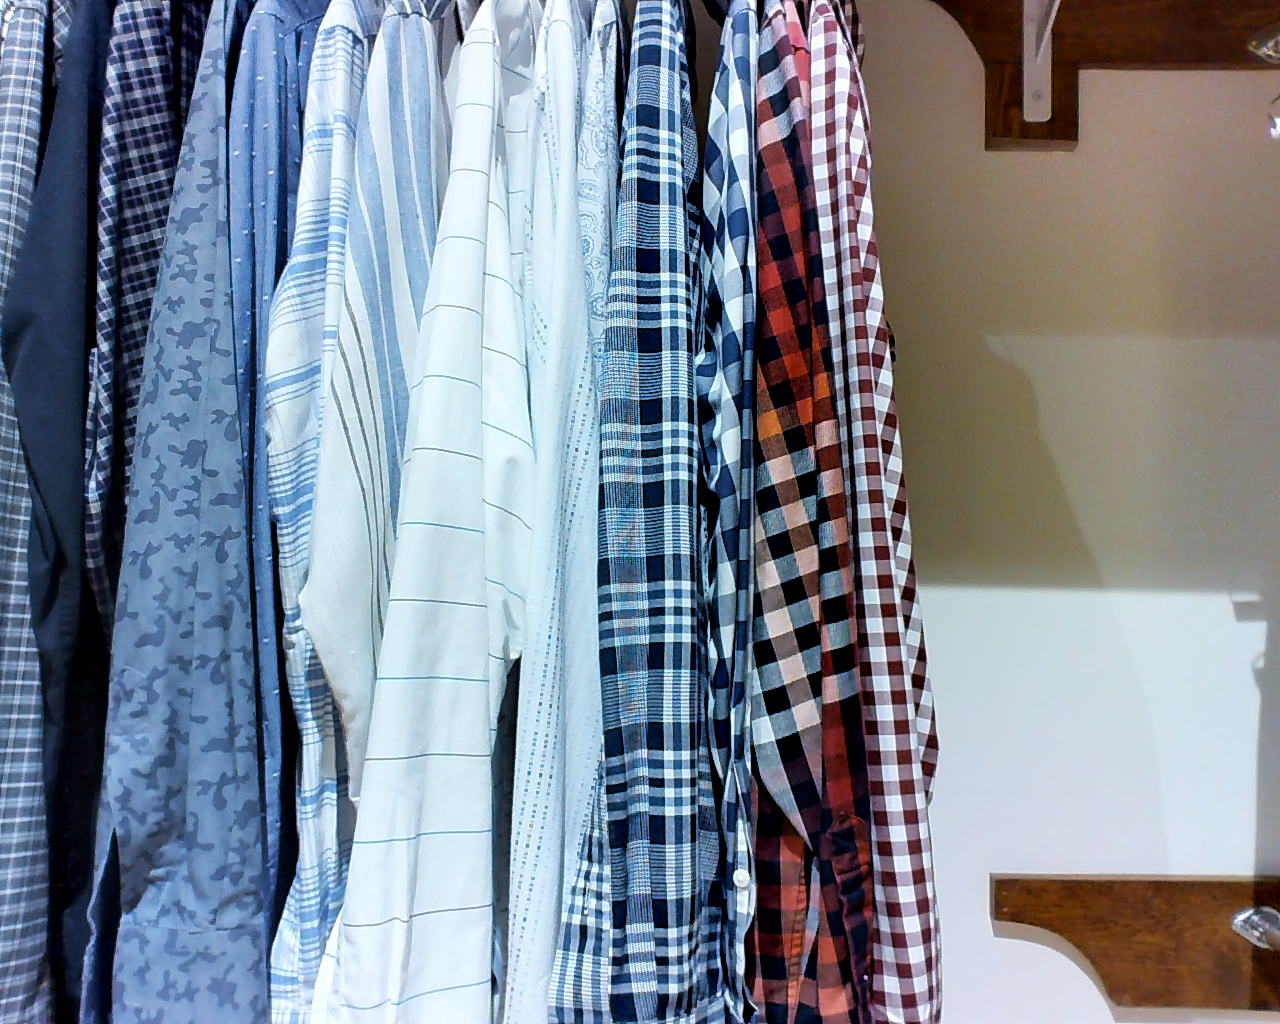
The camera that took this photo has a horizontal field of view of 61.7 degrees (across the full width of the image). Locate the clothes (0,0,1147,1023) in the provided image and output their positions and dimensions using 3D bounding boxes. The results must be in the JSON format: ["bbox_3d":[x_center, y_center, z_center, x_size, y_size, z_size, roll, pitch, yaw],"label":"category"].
[{"bbox_3d":[-0.250,-0.070,0.800,0.980,0.930,0.580,1,0,1],"label":"clothes"}]
